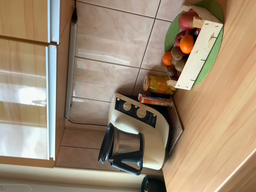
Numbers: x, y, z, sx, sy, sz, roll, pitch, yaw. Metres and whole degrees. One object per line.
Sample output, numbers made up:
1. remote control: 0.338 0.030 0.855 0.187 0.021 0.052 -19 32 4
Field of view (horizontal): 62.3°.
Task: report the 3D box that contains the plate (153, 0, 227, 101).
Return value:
1. plate: 0.230 -0.190 0.900 0.230 0.120 0.350 -95 17 -50
